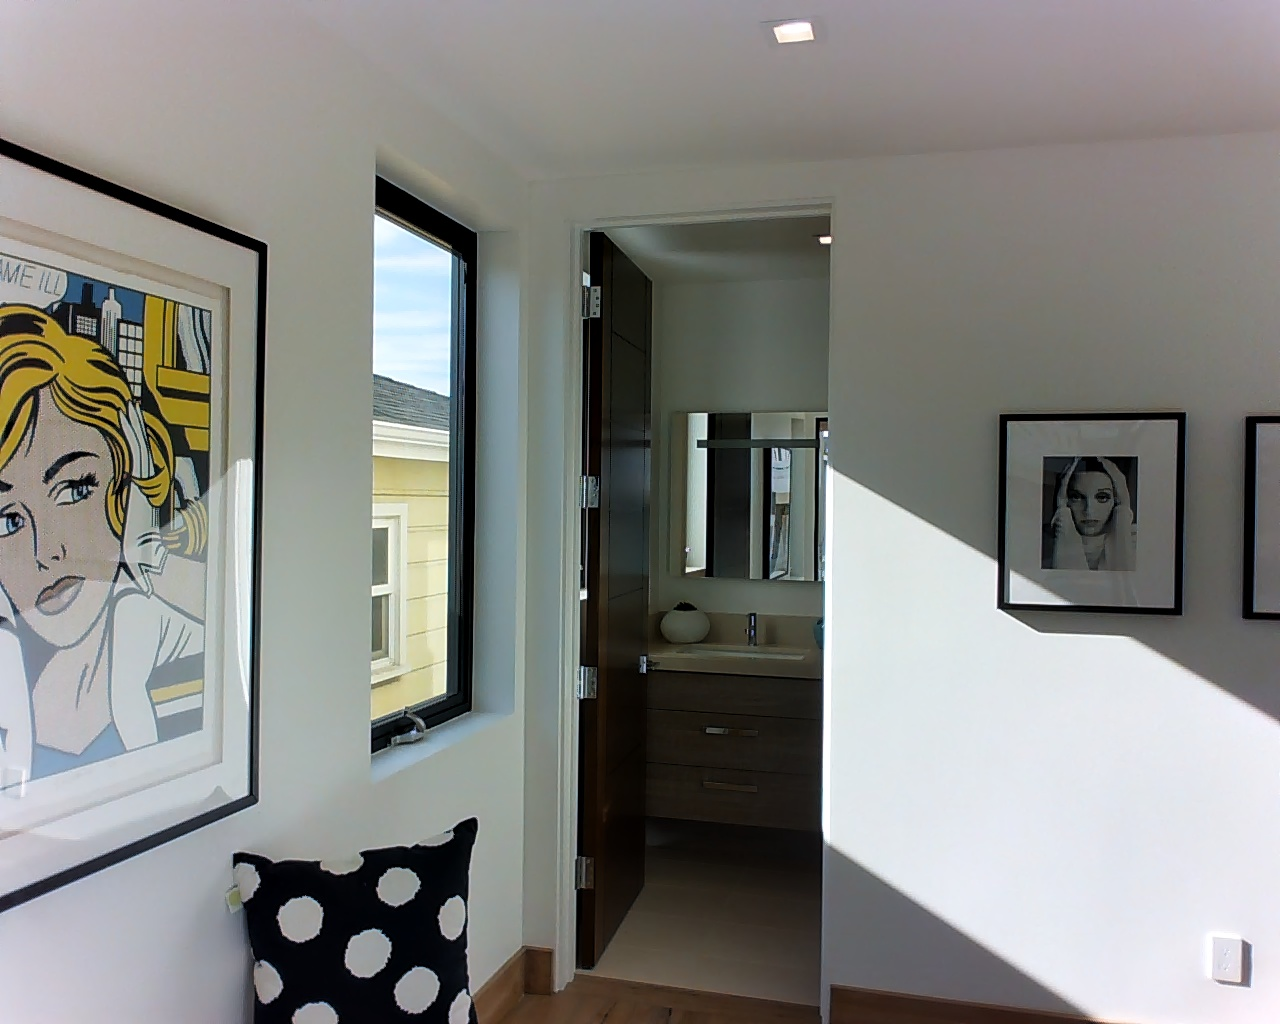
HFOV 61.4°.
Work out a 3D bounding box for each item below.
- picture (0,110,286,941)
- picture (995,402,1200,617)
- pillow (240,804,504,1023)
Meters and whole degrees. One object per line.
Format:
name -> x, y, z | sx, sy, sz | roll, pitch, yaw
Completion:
picture -> -0.840, 0.020, 1.540 | 0.070, 1.090, 1.020 | 1, 0, 15
picture -> 1.240, -0.010, 2.940 | 0.510, 0.570, 0.040 | 1, 0, 15
pillow -> -0.520, 0.850, 2.110 | 0.460, 0.440, 0.340 | 1, 0, -14
